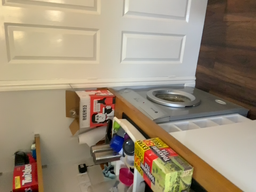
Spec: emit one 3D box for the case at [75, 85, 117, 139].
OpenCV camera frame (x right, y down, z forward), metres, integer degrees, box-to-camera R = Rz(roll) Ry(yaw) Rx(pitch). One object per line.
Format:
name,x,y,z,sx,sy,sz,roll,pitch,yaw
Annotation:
case,-0.250,0.110,1.600,0.210,0.250,0.330,-143,53,-59
